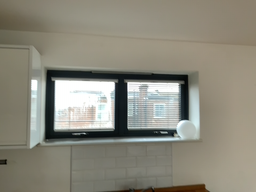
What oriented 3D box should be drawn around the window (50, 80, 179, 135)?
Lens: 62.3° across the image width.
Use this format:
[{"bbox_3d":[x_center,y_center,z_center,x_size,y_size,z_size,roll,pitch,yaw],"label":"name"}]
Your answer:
[{"bbox_3d":[-0.120,0.130,2.370,1.400,0.560,0.160,1,-3,-12],"label":"window"}]
